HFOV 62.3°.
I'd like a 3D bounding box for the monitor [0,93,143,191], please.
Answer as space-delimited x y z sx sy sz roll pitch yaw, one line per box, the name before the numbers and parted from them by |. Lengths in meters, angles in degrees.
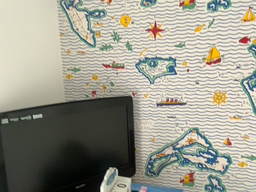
monitor | -0.160 0.190 0.710 0.500 0.350 0.040 -7 10 -34
